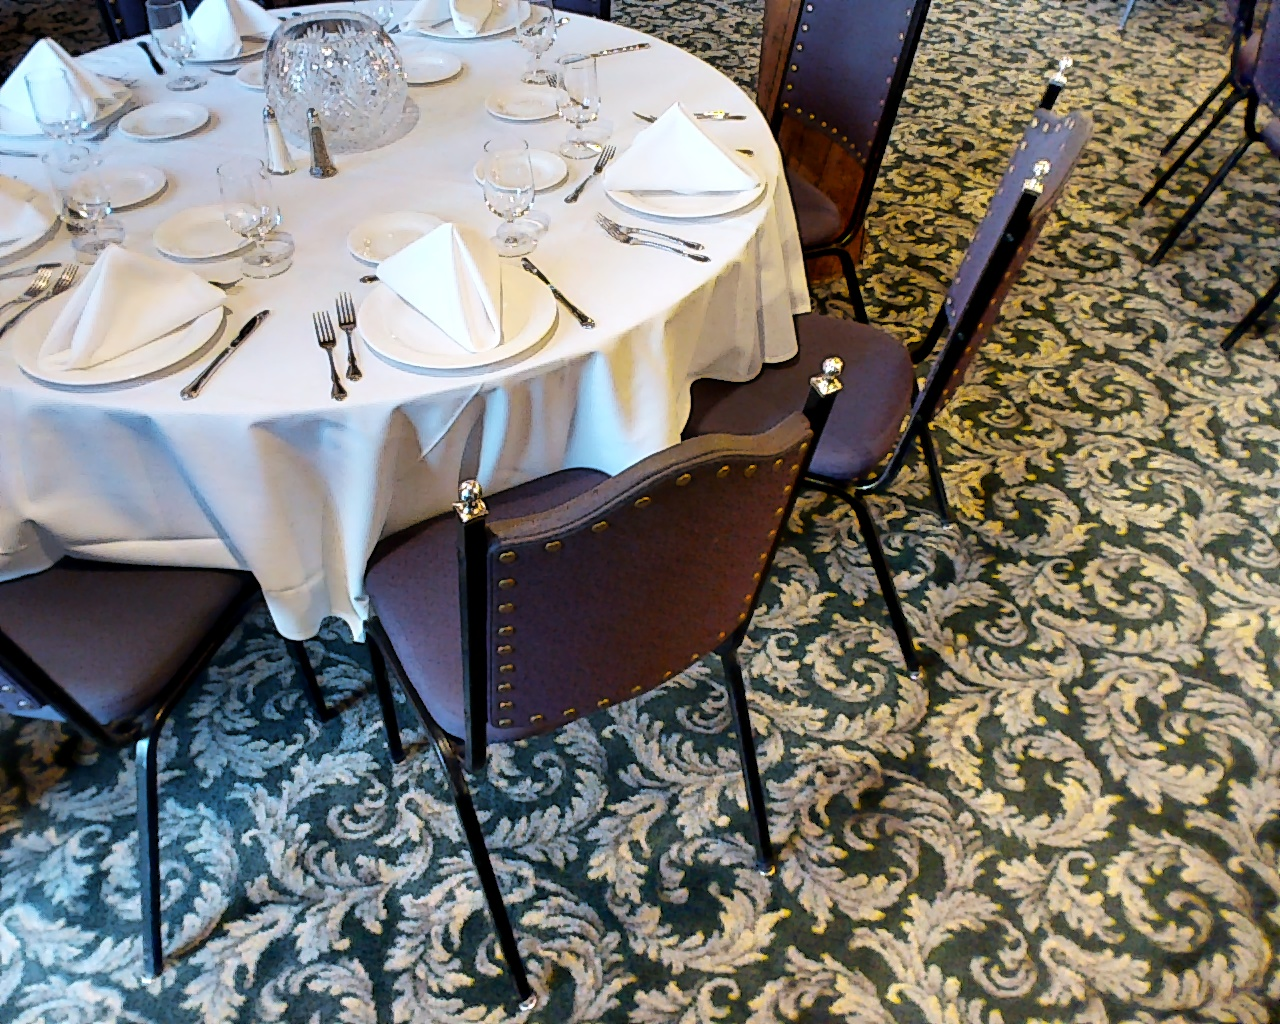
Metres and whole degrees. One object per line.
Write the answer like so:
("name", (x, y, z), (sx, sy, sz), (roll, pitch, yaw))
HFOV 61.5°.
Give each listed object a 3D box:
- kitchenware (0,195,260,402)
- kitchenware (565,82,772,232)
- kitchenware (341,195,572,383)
("kitchenware", (-0.710, -0.290, 1.420), (0.280, 0.100, 0.270), (13, 44, 13))
("kitchenware", (0.050, -0.580, 1.740), (0.260, 0.100, 0.260), (14, 45, 14))
("kitchenware", (-0.250, -0.310, 1.460), (0.240, 0.100, 0.240), (-17, 46, -18))
